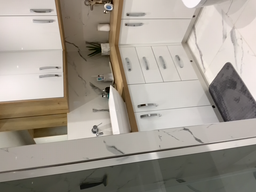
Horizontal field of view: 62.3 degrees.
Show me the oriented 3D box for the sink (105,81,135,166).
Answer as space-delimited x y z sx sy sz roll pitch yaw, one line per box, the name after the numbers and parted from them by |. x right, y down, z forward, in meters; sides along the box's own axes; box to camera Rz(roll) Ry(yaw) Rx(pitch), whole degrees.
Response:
-0.090 0.230 1.820 0.400 0.110 0.600 103 158 -52 | sink
